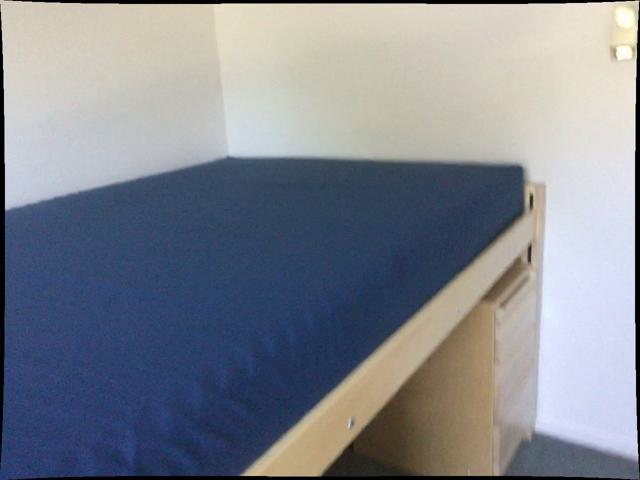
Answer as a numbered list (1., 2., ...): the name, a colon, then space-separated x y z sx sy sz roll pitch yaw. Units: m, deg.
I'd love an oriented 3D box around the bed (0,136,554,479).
1. bed: -0.389 0.471 1.640 1.488 1.152 2.199 7 22 32
